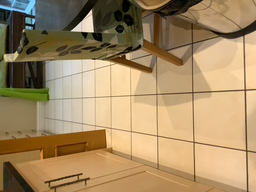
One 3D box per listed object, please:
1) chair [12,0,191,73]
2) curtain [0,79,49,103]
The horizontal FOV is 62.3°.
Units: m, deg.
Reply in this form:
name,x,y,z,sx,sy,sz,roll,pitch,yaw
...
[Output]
name,x,y,z,sx,sy,sz,roll,pitch,yaw
chair,-0.110,-0.440,1.200,0.430,0.900,0.500,-7,84,51
curtain,-2.180,-0.070,2.820,0.220,2.160,0.330,-6,86,51
